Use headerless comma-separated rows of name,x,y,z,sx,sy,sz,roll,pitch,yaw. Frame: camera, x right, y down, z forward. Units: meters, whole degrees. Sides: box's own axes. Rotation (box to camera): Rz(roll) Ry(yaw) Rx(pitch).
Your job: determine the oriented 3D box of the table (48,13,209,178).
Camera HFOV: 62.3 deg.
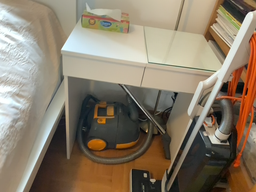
table,-0.040,0.020,1.270,0.650,0.760,0.500,8,38,-4
